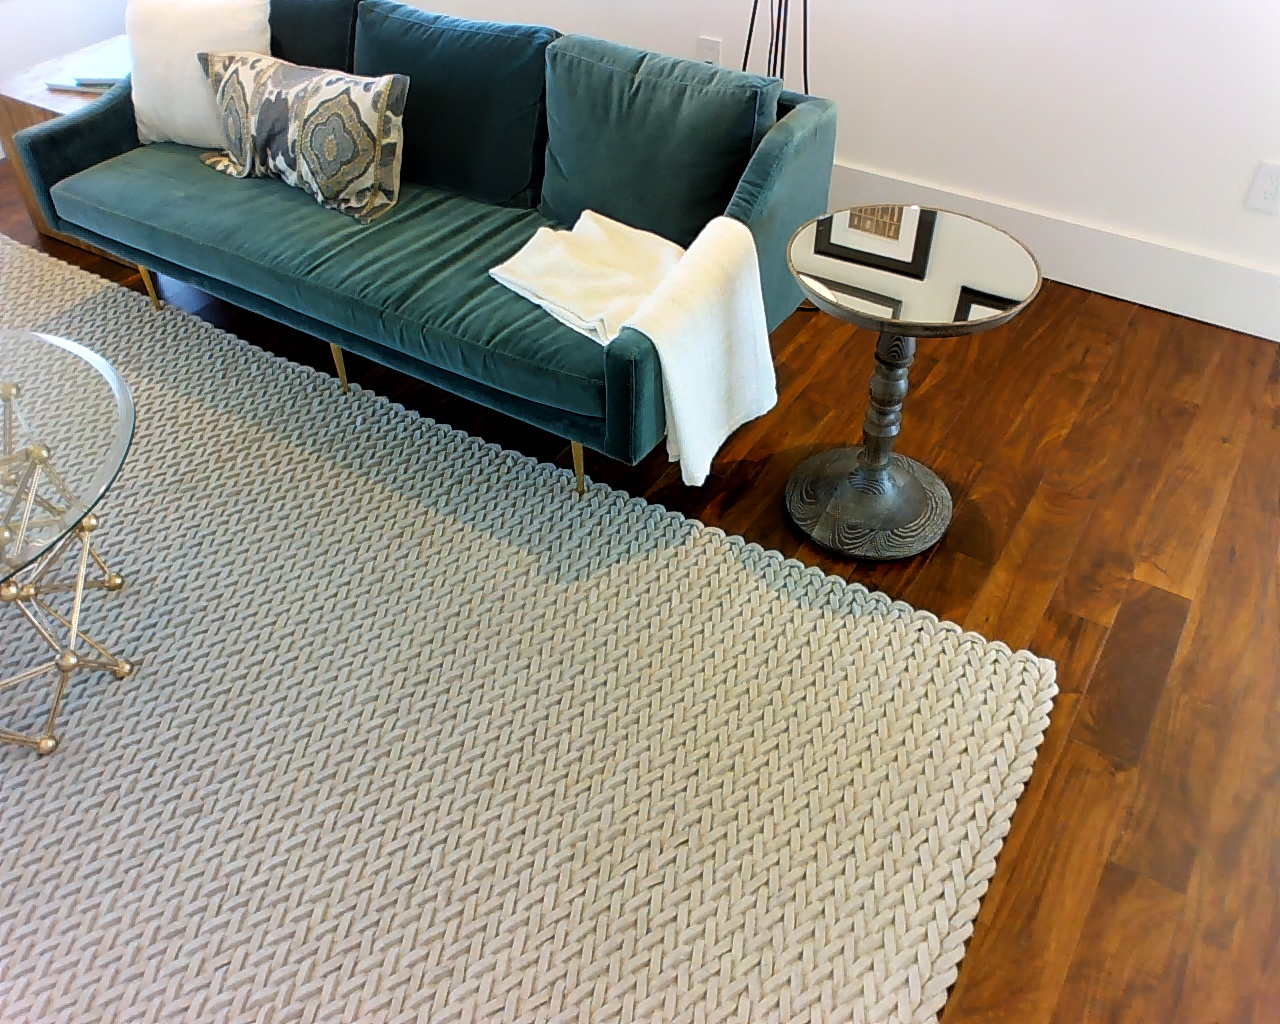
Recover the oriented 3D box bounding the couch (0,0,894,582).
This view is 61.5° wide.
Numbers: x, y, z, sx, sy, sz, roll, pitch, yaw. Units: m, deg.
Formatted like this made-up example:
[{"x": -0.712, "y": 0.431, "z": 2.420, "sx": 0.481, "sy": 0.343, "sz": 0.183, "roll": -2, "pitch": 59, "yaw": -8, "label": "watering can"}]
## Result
[{"x": -0.540, "y": -0.740, "z": 2.580, "sx": 1.960, "sy": 0.740, "sz": 0.890, "roll": 23, "pitch": 47, "yaw": 24, "label": "couch"}]
